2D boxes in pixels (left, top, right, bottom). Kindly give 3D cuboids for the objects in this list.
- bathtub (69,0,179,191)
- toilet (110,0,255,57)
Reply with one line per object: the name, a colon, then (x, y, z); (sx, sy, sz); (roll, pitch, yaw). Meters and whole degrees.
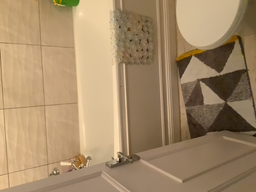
bathtub: (-0.060, -0.120, 1.820); (0.690, 0.580, 1.650); (0, 94, 54)
toilet: (0.370, -0.590, 1.030); (0.500, 0.780, 0.690); (1, 94, 54)
